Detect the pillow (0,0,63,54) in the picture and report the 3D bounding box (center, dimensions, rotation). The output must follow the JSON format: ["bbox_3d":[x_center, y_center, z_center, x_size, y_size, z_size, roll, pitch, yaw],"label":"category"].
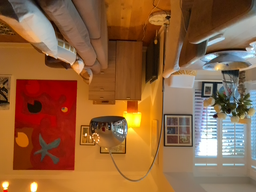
[{"bbox_3d":[-0.680,-0.520,1.250,0.210,0.480,0.550,-37,-169,1],"label":"pillow"}]

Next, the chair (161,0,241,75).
[{"bbox_3d":[0.630,-0.700,1.930,0.570,0.960,0.410,1,178,-5],"label":"chair"}]

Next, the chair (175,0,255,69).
[{"bbox_3d":[0.670,-0.710,1.480,0.570,0.960,0.410,1,178,-5],"label":"chair"}]

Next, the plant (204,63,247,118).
[{"bbox_3d":[1.100,-0.060,2.410,0.410,0.600,0.170,1,178,0],"label":"plant"}]
